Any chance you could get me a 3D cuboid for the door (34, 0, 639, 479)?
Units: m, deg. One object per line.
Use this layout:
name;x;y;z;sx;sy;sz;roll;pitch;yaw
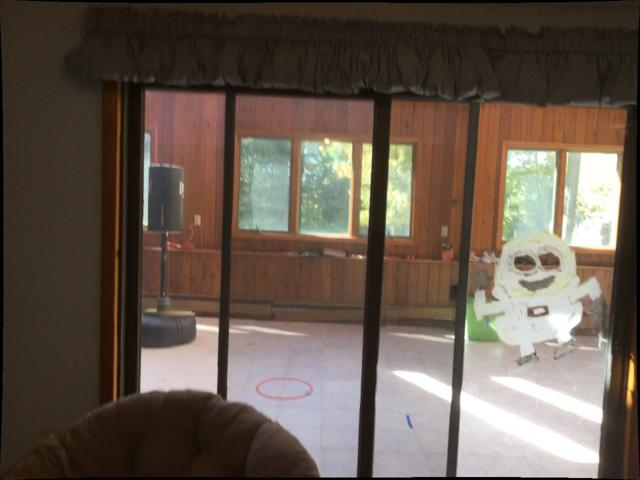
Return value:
door;0.300;0.080;2.640;2.918;2.372;0.640;4;7;0
